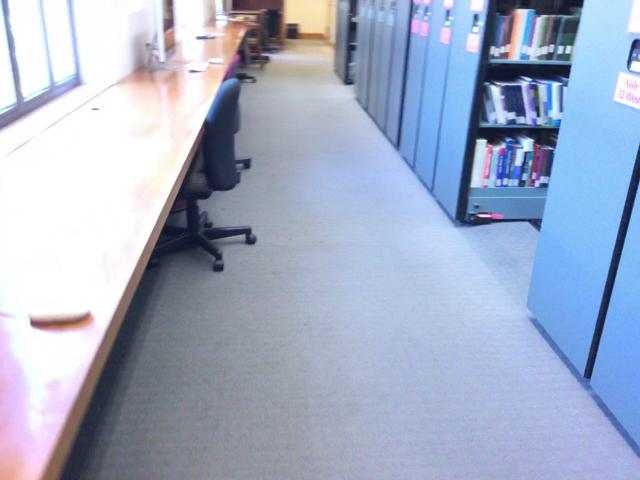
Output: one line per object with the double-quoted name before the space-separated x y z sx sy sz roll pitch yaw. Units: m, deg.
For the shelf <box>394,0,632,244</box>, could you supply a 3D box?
"shelf" 1.110 -1.450 3.730 0.780 2.410 1.790 -1 25 -4
